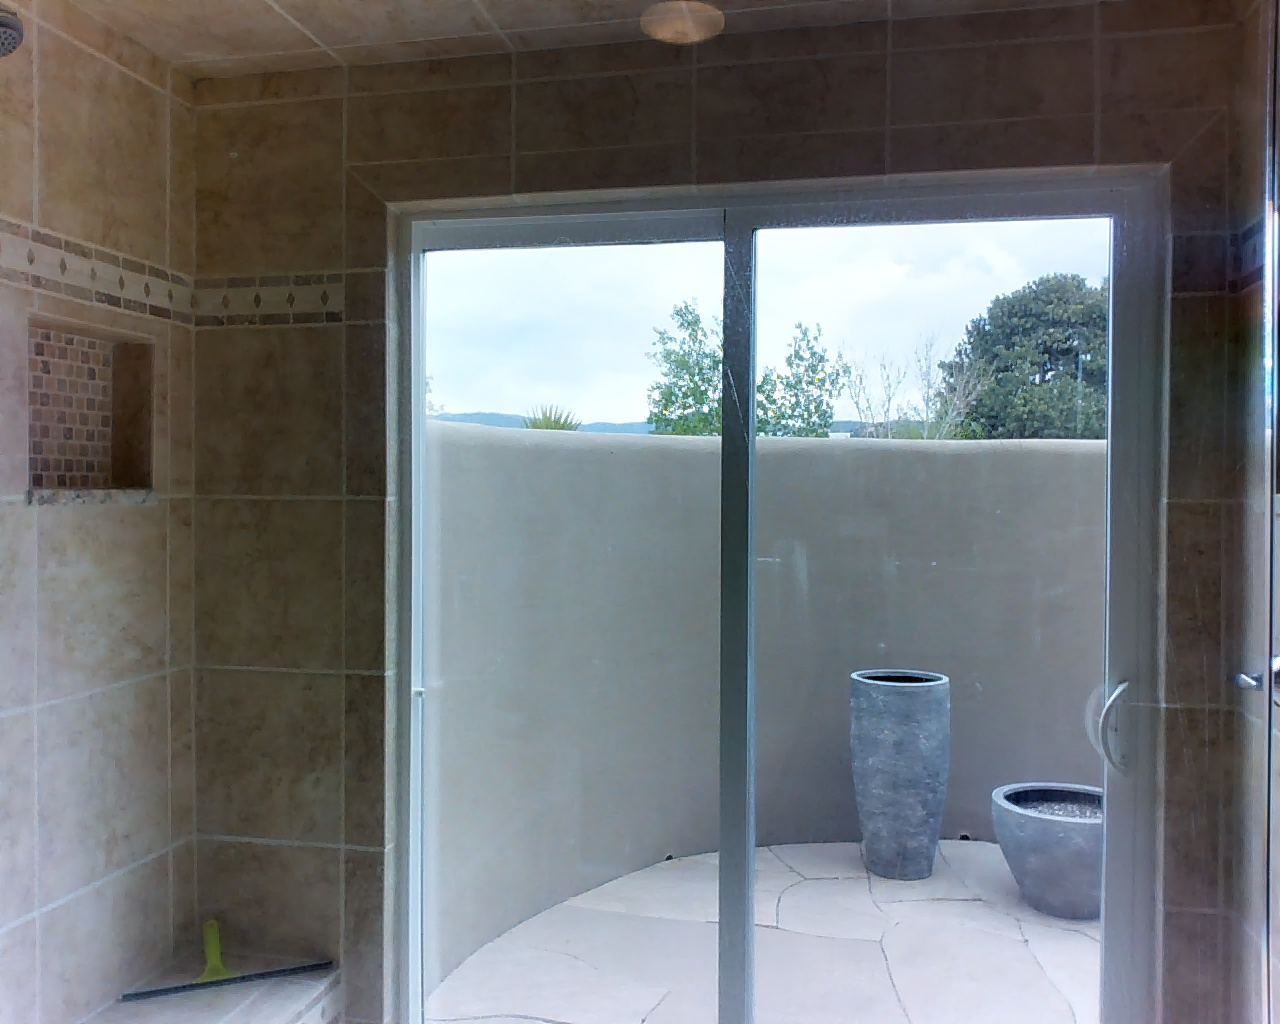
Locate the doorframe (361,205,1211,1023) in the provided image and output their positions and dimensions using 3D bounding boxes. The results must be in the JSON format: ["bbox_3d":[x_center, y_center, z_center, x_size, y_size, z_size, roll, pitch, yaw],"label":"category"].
[{"bbox_3d":[0.230,0.430,2.110,1.560,1.930,0.220,1,0,11],"label":"doorframe"}]
